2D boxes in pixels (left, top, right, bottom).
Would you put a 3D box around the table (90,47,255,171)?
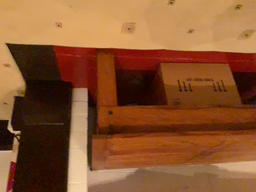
[{"bbox_3d":[0.370,0.120,1.180,1.130,0.400,0.670,-1,153,-9],"label":"table"}]
